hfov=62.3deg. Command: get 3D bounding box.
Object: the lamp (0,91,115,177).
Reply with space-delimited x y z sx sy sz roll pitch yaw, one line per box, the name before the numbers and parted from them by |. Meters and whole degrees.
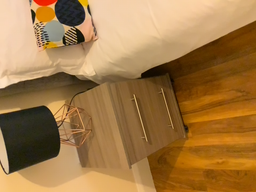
lamp | -0.330 0.150 0.980 0.230 0.460 0.240 -16 88 46
